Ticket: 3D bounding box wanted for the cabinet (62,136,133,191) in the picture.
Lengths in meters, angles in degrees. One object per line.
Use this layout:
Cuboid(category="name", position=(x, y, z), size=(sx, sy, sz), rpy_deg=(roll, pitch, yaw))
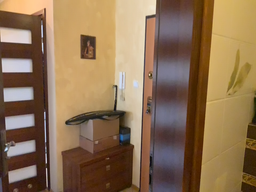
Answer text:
Cuboid(category="cabinet", position=(-0.350, 0.870, 2.550), size=(0.740, 0.540, 0.390), rpy_deg=(-6, 12, -43))
